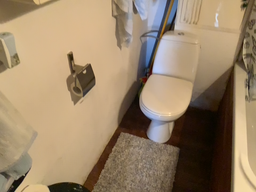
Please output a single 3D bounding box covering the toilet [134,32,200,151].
[{"bbox_3d":[0.300,-0.040,1.680,0.320,0.700,0.560,13,41,15],"label":"toilet"}]
